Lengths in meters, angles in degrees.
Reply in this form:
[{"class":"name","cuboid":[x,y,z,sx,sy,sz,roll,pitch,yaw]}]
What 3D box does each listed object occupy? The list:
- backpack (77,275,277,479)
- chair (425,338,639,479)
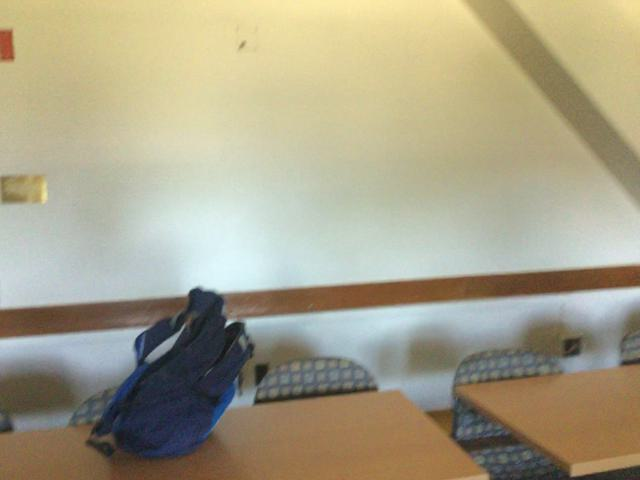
[{"class":"backpack","cuboid":[-0.410,0.350,1.610,0.420,0.410,0.410,-7,7,-28]},{"class":"chair","cuboid":[0.690,0.750,1.870,0.500,0.690,0.540,-5,6,-10]}]
